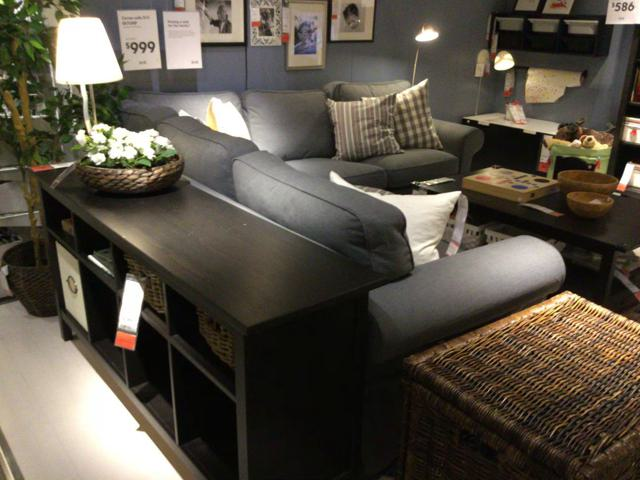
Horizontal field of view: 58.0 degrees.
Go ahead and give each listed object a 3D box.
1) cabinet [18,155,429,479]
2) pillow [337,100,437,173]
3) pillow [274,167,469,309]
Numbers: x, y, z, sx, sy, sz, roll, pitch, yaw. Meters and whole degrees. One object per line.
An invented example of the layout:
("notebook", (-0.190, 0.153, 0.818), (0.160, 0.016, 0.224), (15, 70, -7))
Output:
("cabinet", (-0.450, 0.240, 1.970), (0.590, 0.840, 1.640), (-16, 21, -34))
("pillow", (0.430, -0.680, 3.720), (0.520, 0.380, 0.350), (-12, 19, -24))
("pillow", (0.170, -0.040, 2.020), (0.610, 0.340, 0.300), (12, 24, 42))
